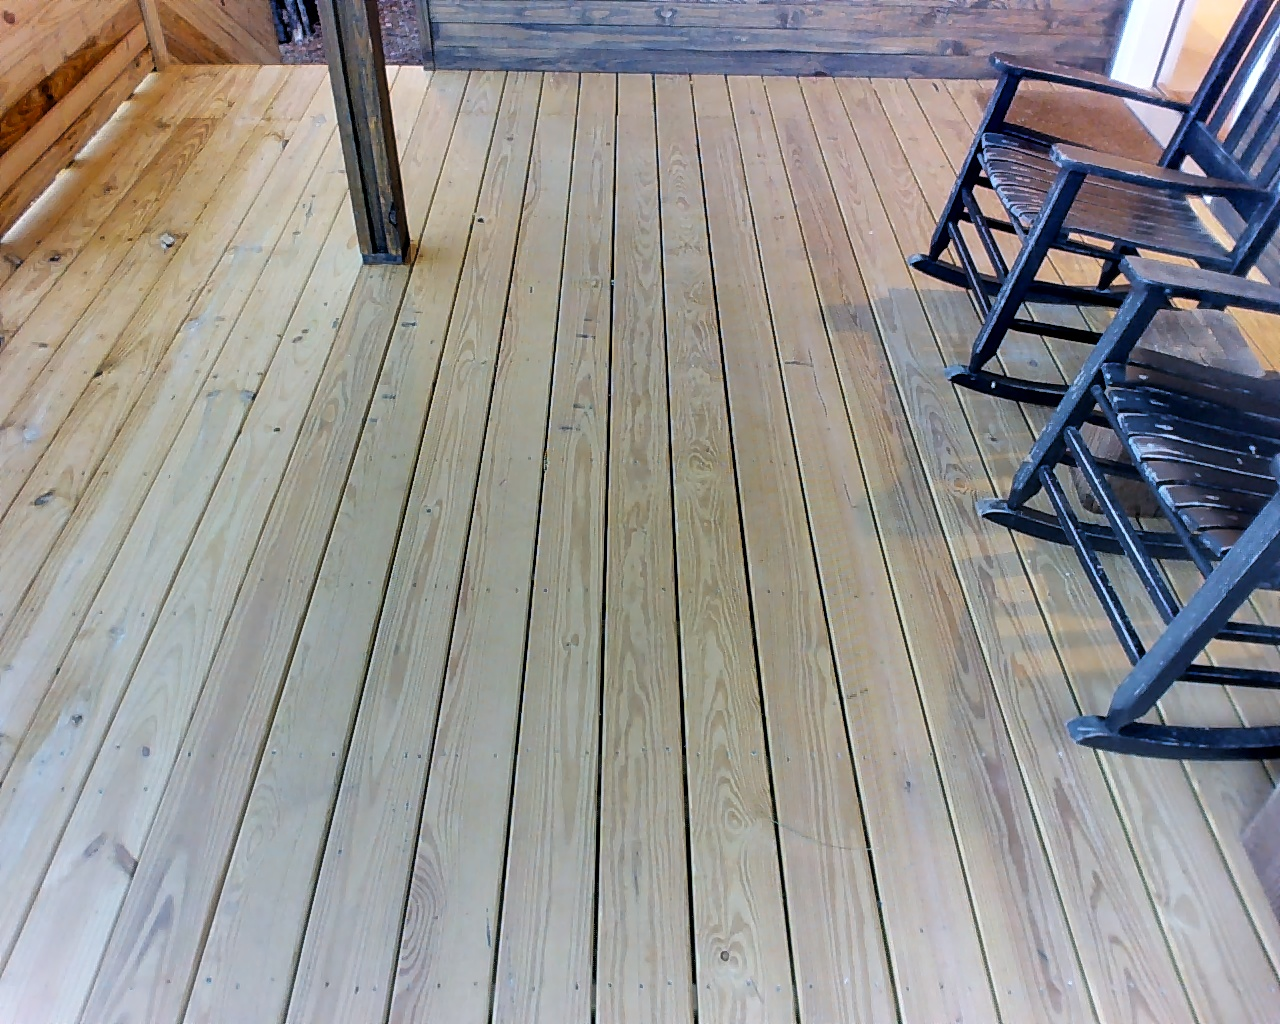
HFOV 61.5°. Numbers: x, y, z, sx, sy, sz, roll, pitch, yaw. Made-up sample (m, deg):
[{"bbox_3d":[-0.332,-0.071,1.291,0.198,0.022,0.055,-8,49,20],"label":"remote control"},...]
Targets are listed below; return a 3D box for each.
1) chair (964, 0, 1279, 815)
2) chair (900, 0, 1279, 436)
[{"bbox_3d":[1.180,-0.170,1.730,0.890,1.180,0.690,-1,39,-3],"label":"chair"},{"bbox_3d":[1.230,-0.880,2.520,0.900,1.200,0.710,1,40,-1],"label":"chair"}]
